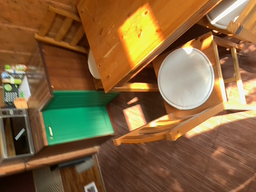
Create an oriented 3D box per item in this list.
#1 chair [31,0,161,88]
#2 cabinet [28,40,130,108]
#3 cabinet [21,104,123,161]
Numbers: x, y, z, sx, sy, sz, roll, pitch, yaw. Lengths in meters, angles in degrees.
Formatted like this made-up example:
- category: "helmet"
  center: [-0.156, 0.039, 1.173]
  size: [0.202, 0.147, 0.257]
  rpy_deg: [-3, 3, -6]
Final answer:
- category: "chair"
  center: [-0.250, -0.380, 1.820]
  size: [0.460, 0.910, 0.460]
  rpy_deg: [-38, 64, 41]
- category: "cabinet"
  center: [-0.460, -0.190, 2.100]
  size: [0.310, 0.850, 0.490]
  rpy_deg: [-38, 64, 41]
- category: "cabinet"
  center: [-0.570, 0.360, 2.230]
  size: [0.500, 0.860, 0.320]
  rpy_deg: [-38, 64, 41]
